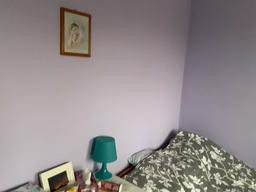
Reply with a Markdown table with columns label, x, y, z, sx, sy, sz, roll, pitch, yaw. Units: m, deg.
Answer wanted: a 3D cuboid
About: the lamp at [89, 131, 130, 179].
| label | x | y | z | sx | sy | sz | roll | pitch | yaw |
| --- | --- | --- | --- | --- | --- | --- | --- | --- | --- |
| lamp | -0.140 | 0.440 | 1.640 | 0.170 | 0.260 | 0.270 | 10 | 11 | 38 |
